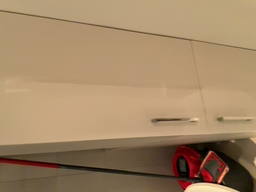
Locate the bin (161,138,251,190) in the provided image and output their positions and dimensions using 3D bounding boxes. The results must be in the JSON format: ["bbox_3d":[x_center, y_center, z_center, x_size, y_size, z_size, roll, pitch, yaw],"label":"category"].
[{"bbox_3d":[0.490,0.440,1.420,0.410,0.350,0.260,145,124,-62],"label":"bin"}]
